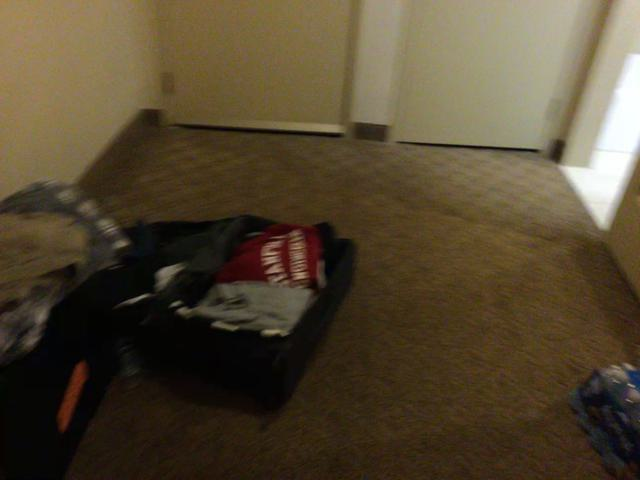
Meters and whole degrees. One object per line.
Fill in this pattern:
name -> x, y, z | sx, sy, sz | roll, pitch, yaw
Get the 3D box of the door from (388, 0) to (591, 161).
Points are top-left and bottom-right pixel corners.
door -> 0.810, -1.350, 2.460 | 0.800, 2.080, 0.120 | 4, 31, 1

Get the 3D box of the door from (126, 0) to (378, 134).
door -> -0.280, -1.470, 2.420 | 1.120, 2.010, 0.190 | 4, 31, 1

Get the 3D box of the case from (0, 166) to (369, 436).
case -> -0.350, 0.110, 1.860 | 0.930, 0.250, 0.920 | 7, 32, 6
